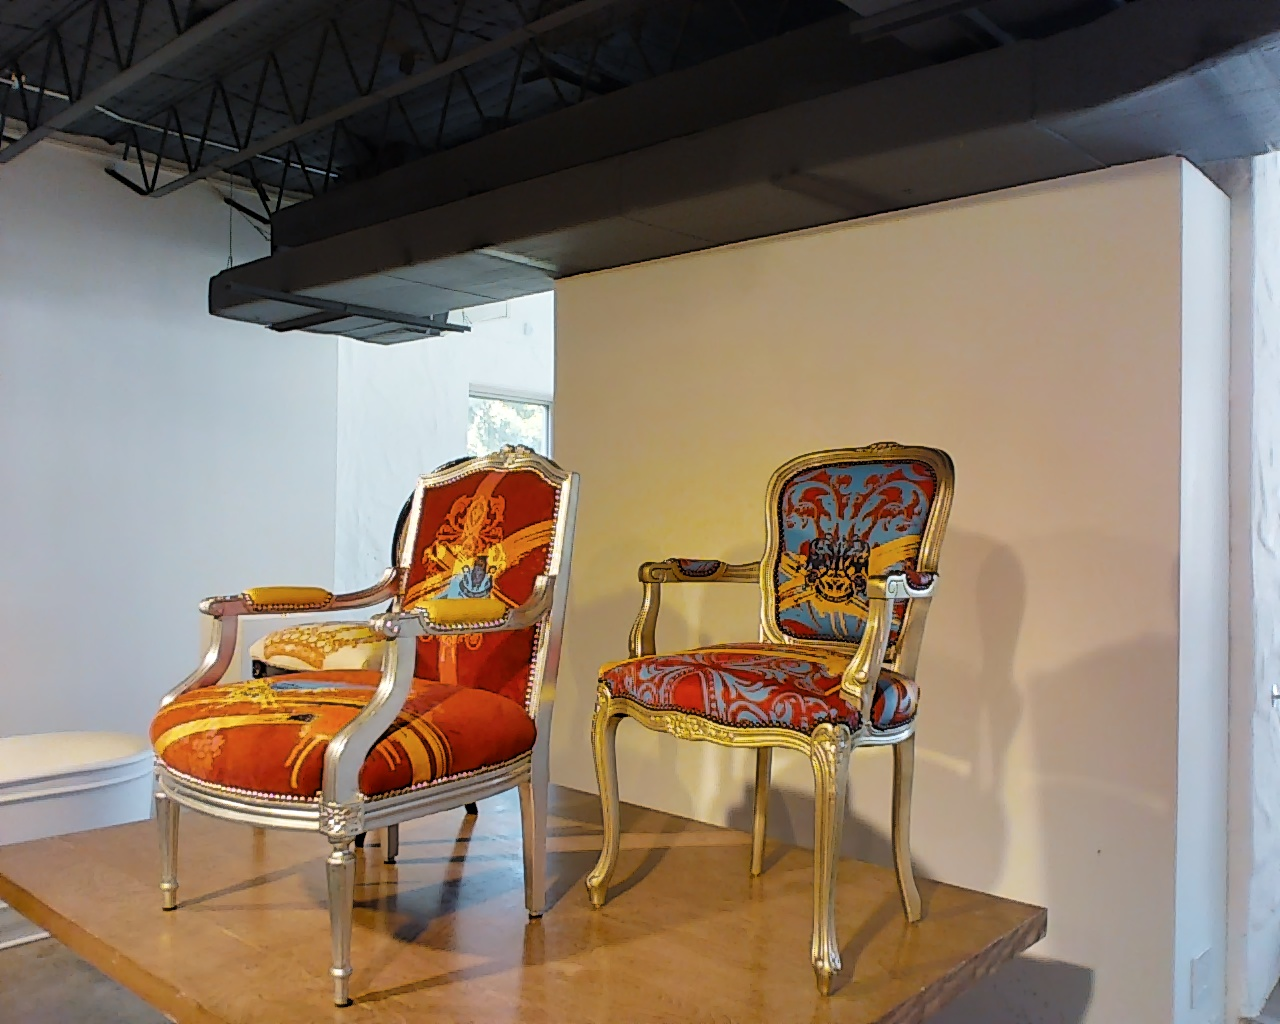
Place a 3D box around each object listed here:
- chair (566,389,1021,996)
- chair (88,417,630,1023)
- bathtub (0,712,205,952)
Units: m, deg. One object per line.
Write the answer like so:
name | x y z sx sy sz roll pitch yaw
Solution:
chair | 0.310 0.280 2.110 0.590 0.940 0.680 1 0 44
chair | -0.520 0.300 2.030 0.680 0.870 0.730 1 0 42
bathtub | -2.510 1.170 3.810 0.800 0.610 1.590 1 0 42
